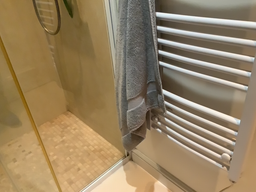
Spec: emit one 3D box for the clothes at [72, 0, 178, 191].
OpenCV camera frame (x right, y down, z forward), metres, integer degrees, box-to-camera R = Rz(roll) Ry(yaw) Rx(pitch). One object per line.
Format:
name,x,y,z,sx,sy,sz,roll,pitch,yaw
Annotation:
clothes,0.010,-0.080,0.860,0.250,1.060,0.250,-29,39,-33
